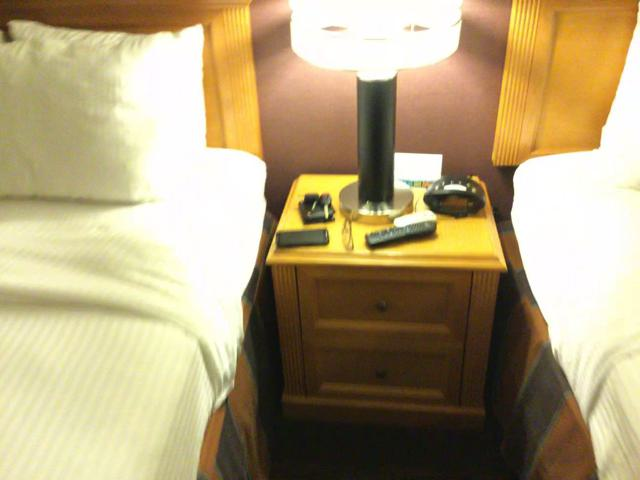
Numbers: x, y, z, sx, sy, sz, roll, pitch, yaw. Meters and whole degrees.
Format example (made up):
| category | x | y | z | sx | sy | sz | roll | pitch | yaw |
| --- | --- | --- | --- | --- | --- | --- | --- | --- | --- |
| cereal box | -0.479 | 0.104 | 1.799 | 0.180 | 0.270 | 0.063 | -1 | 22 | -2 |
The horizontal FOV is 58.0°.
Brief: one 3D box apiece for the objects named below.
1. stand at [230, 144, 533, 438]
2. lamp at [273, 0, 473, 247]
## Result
| category | x | y | z | sx | sy | sz | roll | pitch | yaw |
| --- | --- | --- | --- | --- | --- | --- | --- | --- | --- |
| stand | 0.170 | 0.140 | 1.730 | 0.700 | 0.700 | 0.500 | 0 | 30 | 5 |
| lamp | 0.130 | -0.400 | 1.450 | 0.400 | 0.720 | 0.420 | 0 | 30 | 5 |
